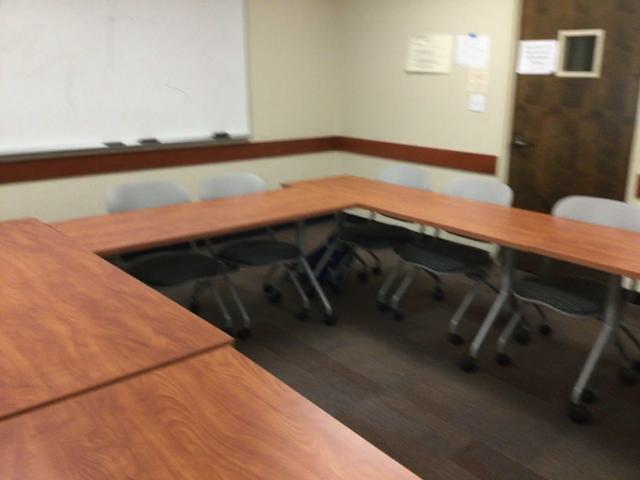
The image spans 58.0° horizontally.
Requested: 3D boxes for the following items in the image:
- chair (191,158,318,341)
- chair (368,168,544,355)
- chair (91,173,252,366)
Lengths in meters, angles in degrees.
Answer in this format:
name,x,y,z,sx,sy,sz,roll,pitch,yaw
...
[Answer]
name,x,y,z,sx,sy,sz,roll,pitch,yaw
chair,-0.370,0.020,3.290,0.460,0.870,0.550,-13,21,-39
chair,0.730,0.070,3.220,0.550,0.800,0.710,-13,21,-41
chair,-0.770,0.110,3.050,0.590,0.800,0.550,-13,21,-41
